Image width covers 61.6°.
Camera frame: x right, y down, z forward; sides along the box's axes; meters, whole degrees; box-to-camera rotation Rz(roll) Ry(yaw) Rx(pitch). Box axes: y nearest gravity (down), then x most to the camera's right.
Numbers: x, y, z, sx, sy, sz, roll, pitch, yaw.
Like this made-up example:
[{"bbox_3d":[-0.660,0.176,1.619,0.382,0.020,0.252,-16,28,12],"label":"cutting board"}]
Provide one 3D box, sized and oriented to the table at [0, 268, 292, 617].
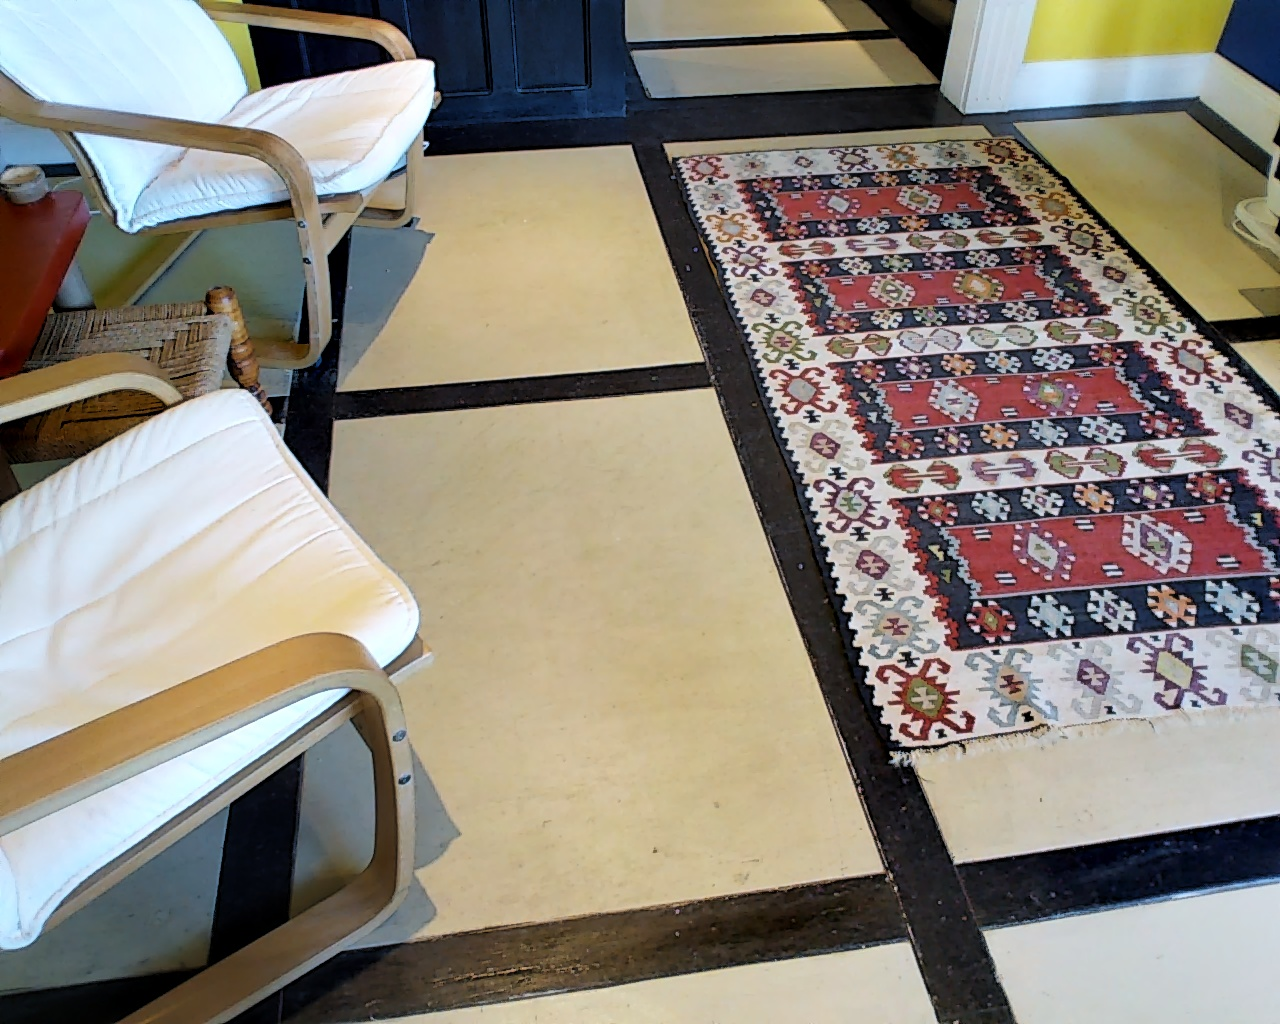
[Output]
[{"bbox_3d":[-0.860,-0.140,1.850,0.400,0.300,0.540,-5,42,-7],"label":"table"}]
